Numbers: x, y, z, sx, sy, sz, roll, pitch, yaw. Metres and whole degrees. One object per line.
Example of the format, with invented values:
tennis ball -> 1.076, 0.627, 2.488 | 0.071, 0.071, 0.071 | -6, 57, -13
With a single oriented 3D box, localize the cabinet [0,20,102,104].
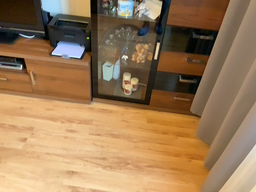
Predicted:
cabinet -> -1.000, -0.340, 1.840 | 1.460, 0.430, 0.470 | 8, 40, 1

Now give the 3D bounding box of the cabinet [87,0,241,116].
cabinet -> 0.190, -0.450, 1.620 | 0.890, 1.110, 0.430 | 8, 40, 1
